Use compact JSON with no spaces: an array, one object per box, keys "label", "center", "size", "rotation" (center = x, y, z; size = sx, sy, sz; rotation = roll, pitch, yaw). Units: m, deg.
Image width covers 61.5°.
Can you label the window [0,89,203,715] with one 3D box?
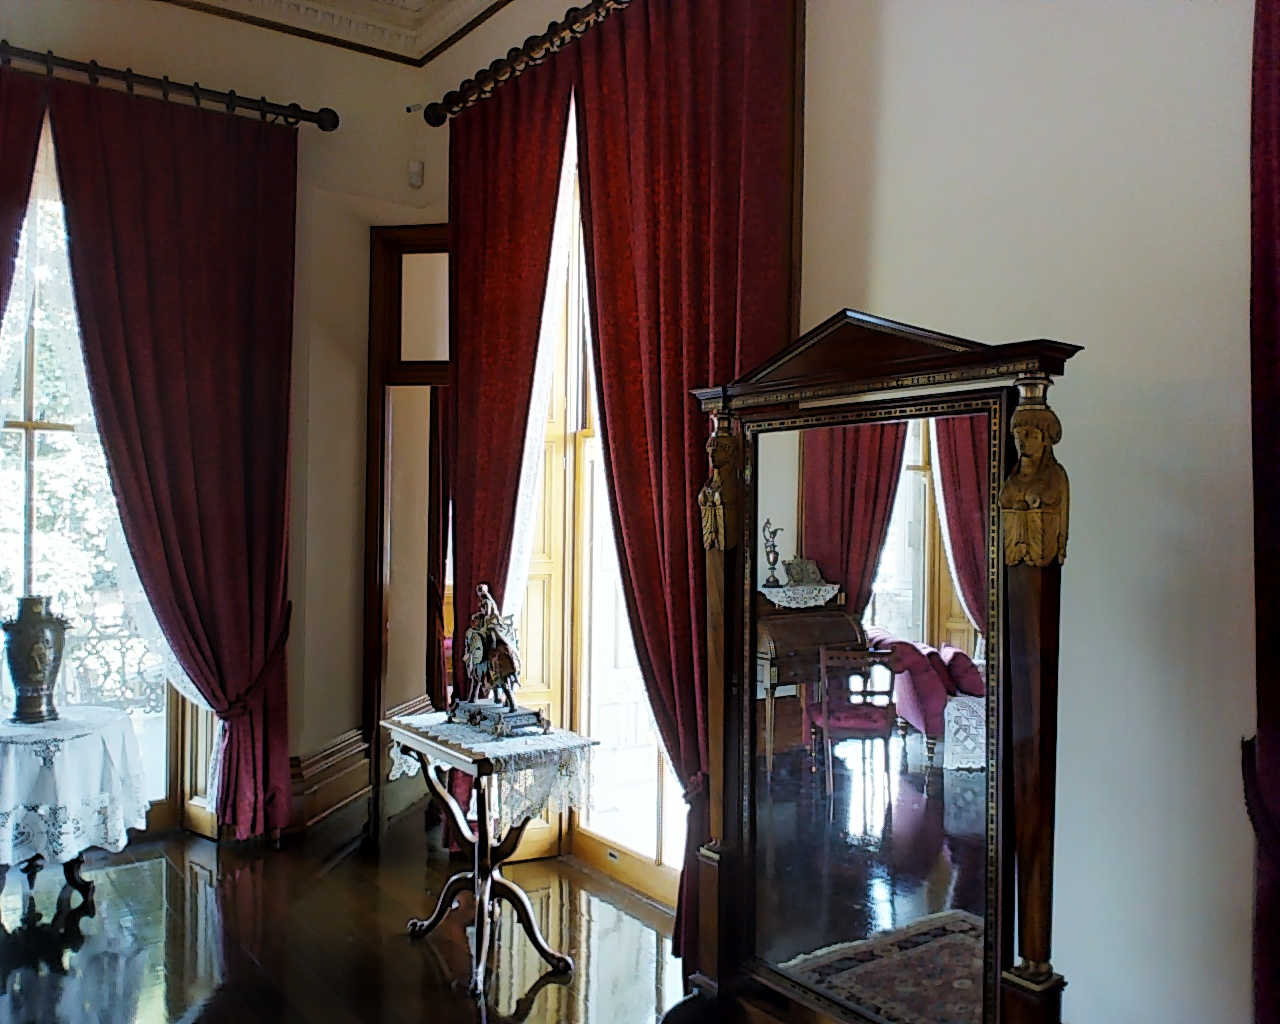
[{"label":"window","center":[-2.510,-0.440,4.470],"size":[1.280,2.530,0.100],"rotation":[0,1,-35]}]

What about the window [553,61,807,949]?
[{"label":"window","center":[0.090,-0.030,4.360],"size":[0.100,3.070,1.500],"rotation":[0,1,-35]}]
